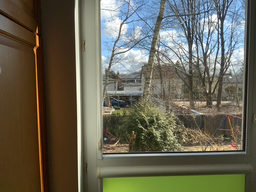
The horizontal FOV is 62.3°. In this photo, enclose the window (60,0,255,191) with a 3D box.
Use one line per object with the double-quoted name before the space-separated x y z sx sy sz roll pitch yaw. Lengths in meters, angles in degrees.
"window" 0.240 0.080 1.340 1.230 2.470 0.240 -1 4 -10
